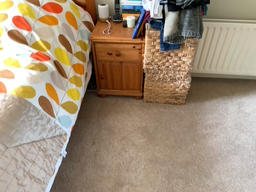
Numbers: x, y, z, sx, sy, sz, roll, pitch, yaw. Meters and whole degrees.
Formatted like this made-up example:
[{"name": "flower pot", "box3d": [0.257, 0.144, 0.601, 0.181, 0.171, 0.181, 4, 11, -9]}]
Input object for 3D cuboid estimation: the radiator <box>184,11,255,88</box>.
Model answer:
[{"name": "radiator", "box3d": [1.130, -0.380, 1.910, 1.100, 0.650, 0.150, 5, 42, 6]}]
